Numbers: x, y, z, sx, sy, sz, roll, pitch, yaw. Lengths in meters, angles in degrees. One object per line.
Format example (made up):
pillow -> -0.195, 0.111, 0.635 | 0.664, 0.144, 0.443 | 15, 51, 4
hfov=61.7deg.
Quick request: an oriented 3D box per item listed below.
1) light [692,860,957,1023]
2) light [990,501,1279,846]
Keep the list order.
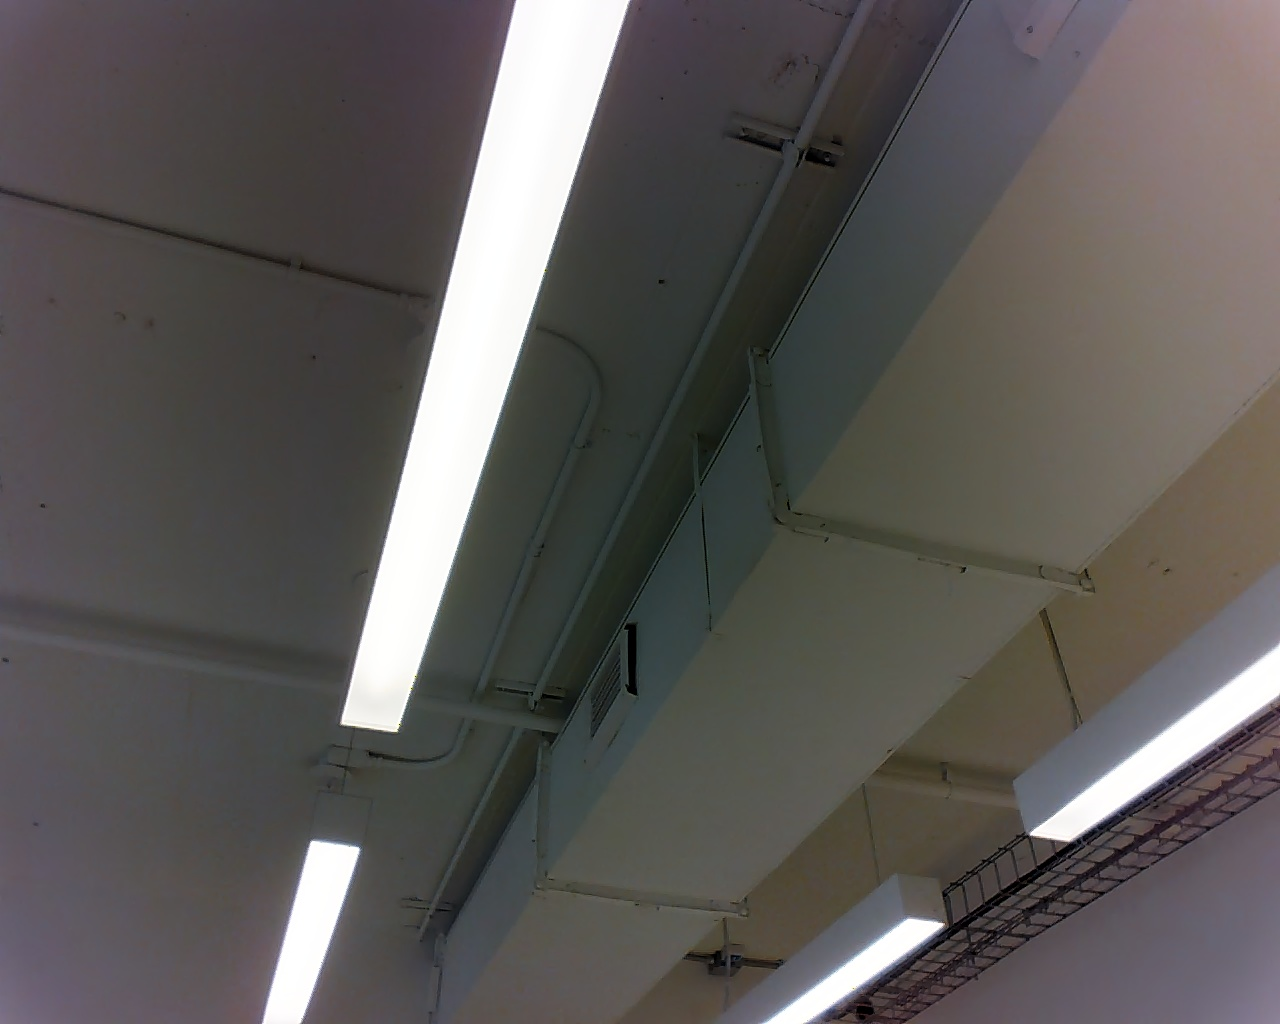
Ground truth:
light -> 0.390, 1.211, 2.700 | 0.140, 1.260, 0.140 | 13, 46, -14
light -> 0.919, 0.140, 1.540 | 0.150, 1.210, 0.160 | 13, 46, -14
